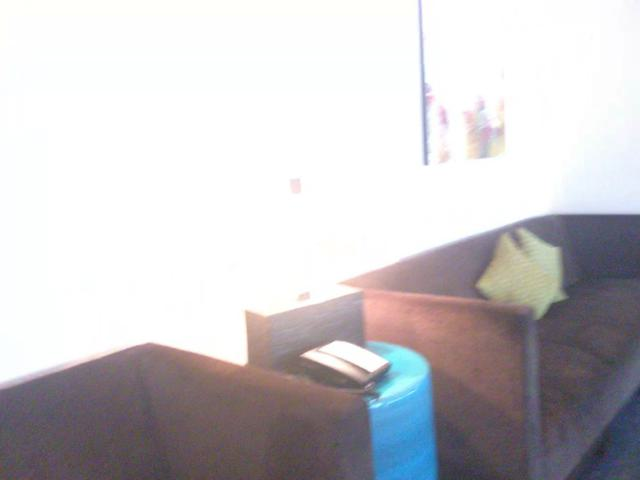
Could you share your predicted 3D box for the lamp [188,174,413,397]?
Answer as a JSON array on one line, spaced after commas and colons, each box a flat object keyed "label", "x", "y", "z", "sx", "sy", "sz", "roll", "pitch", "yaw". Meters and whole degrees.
[{"label": "lamp", "x": -0.040, "y": 0.110, "z": 1.790, "sx": 0.320, "sy": 0.520, "sz": 0.540, "roll": -5, "pitch": 9, "yaw": 44}]
